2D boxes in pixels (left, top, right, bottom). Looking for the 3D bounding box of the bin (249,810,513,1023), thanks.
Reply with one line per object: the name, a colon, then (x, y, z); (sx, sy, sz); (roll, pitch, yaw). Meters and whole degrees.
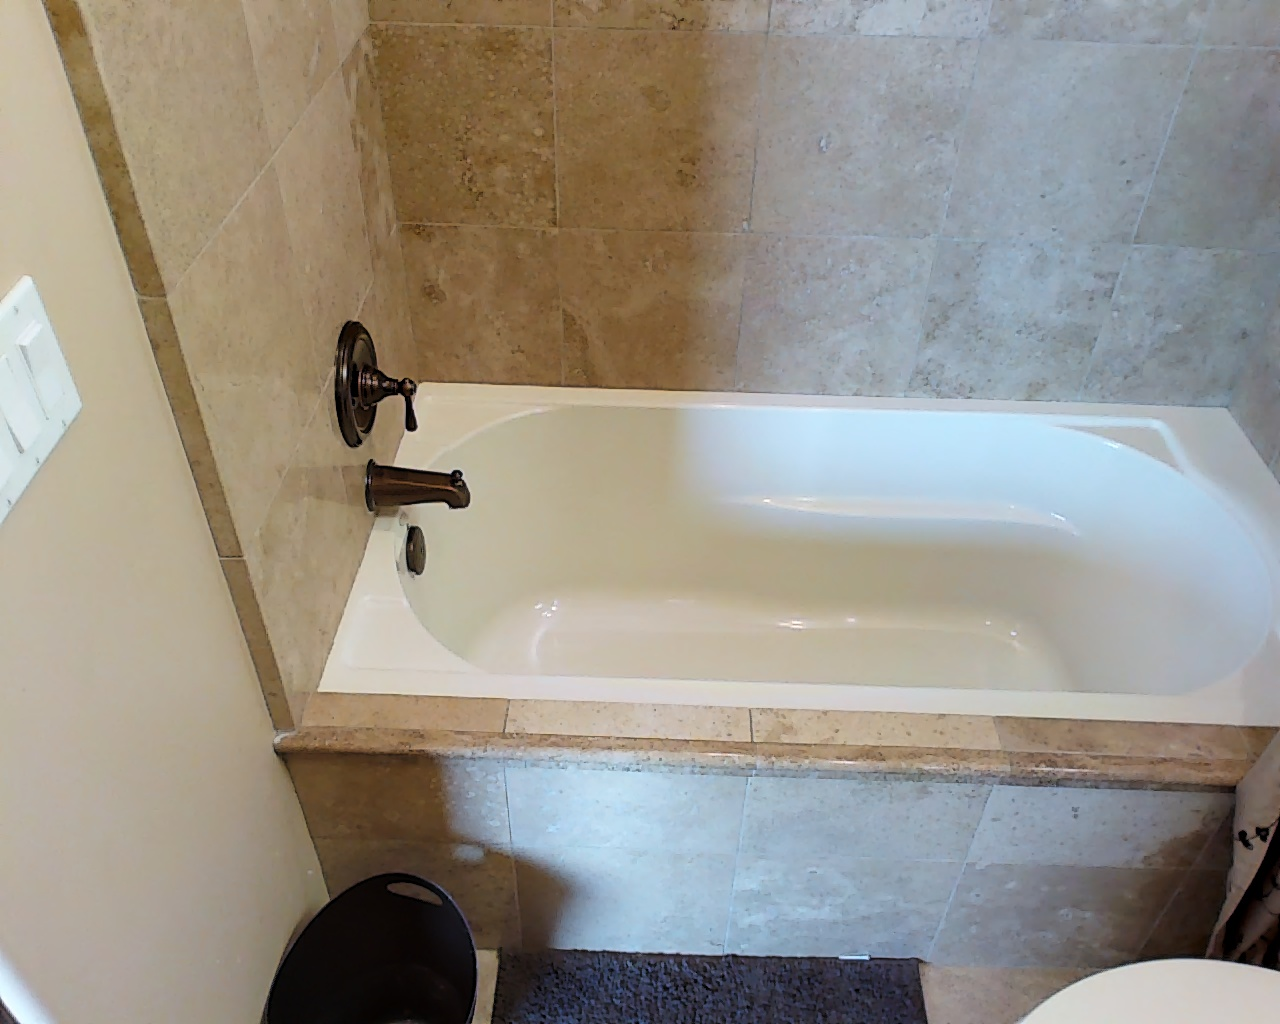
bin: (-0.320, 0.640, 1.390); (0.240, 0.320, 0.360); (2, 40, 2)
